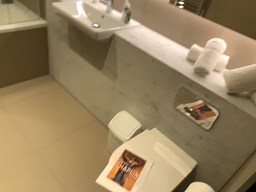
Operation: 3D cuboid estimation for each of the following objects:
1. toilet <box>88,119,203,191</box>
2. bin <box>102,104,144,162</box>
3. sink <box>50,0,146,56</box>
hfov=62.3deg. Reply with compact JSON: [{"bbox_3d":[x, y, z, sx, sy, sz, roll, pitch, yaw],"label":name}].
[{"bbox_3d":[0.090,0.530,1.350,0.390,0.450,0.540,38,44,27],"label":"toilet"},{"bbox_3d":[-0.050,0.290,1.660,0.180,0.360,0.210,-26,53,-39],"label":"bin"},{"bbox_3d":[-0.240,-0.570,1.660,0.470,0.170,0.580,-26,53,-39],"label":"sink"}]
